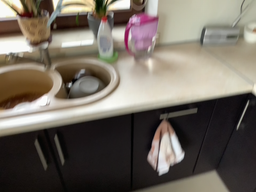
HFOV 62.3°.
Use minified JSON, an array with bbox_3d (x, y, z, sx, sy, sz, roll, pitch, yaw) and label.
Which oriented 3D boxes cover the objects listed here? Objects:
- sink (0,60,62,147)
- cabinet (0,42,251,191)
[{"bbox_3d":[-0.600,0.020,1.150,0.430,0.180,0.470,-9,38,-12],"label":"sink"},{"bbox_3d":[-0.320,0.250,1.380,1.800,0.830,0.610,-9,38,-12],"label":"cabinet"}]
